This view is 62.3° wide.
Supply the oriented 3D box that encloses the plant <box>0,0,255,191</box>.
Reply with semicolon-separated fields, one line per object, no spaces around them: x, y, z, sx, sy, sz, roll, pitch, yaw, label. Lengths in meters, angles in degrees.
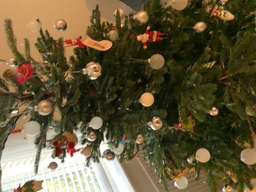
0.020;-0.060;1.160;0.920;1.800;1.100;56;142;40;plant
